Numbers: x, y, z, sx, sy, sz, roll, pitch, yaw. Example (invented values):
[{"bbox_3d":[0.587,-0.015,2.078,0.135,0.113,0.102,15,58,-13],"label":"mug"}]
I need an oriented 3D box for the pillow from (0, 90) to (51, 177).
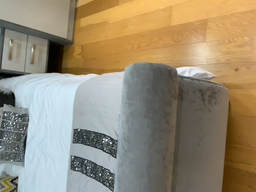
[{"bbox_3d":[-1.010,0.320,1.750,0.230,0.540,0.520,-4,149,32],"label":"pillow"}]
